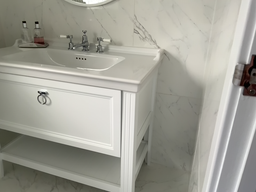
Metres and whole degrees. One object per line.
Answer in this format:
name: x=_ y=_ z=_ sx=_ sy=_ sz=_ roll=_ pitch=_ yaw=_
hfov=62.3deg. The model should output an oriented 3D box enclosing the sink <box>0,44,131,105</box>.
sink: x=-0.330 y=-0.150 z=1.170 sx=0.600 sy=0.160 sz=0.390 roll=9 pitch=24 yaw=15
